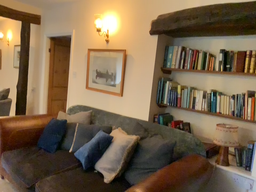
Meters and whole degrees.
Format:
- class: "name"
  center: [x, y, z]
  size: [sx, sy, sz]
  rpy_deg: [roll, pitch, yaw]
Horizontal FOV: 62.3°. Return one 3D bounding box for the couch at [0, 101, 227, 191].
- class: "couch"
  center: [-0.400, 0.640, 2.090]
  size: [2.180, 0.810, 1.100]
  rpy_deg: [11, 8, 41]
